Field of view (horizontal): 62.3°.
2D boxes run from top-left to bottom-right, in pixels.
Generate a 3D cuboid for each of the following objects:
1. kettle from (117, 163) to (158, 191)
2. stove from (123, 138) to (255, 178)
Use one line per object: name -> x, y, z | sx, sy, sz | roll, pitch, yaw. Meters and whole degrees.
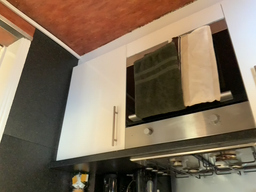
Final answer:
kettle -> 0.060, 0.540, 1.310 | 0.180, 0.200, 0.190 | -17, 147, 29
stove -> 0.380, 0.360, 1.120 | 0.580, 0.030, 0.590 | -17, 147, 29
